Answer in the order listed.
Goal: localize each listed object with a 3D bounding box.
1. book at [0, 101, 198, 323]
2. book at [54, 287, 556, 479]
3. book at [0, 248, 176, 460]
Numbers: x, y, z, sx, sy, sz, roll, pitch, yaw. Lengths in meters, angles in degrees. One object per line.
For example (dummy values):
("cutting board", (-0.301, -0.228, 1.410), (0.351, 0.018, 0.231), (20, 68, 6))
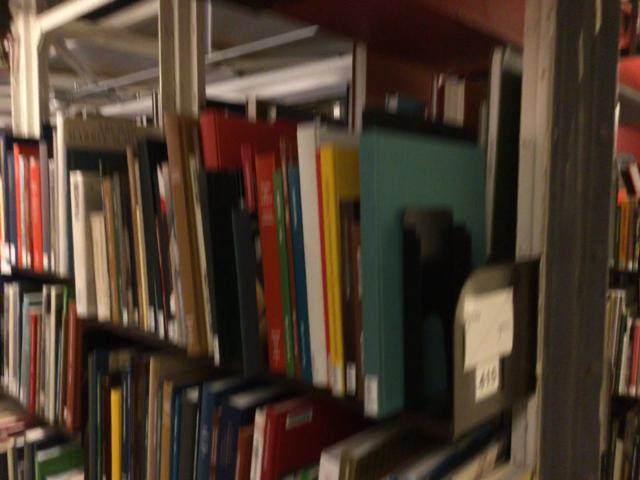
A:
("book", (-0.750, -0.090, 1.550), (0.980, 0.430, 0.290), (5, 6, 40))
("book", (-0.110, 0.360, 1.050), (0.930, 0.410, 0.310), (5, 6, 40))
("book", (-0.810, 0.250, 1.640), (0.980, 0.370, 0.260), (5, 6, 40))
